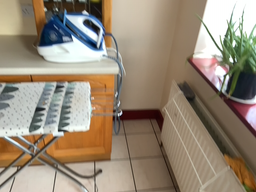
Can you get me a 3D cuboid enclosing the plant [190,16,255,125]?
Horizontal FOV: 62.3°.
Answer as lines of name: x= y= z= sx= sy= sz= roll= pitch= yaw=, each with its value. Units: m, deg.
plant: x=0.560 y=-0.150 z=1.050 sx=0.230 sy=0.370 sz=0.420 roll=-5 pitch=34 yaw=-17
